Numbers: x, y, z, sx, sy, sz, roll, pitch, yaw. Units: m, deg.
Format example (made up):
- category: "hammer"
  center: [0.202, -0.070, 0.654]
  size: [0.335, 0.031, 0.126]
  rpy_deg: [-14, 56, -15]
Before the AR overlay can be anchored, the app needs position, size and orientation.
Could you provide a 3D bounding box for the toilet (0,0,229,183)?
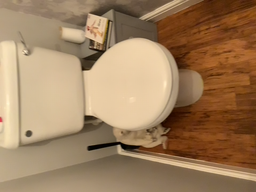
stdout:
- category: "toilet"
  center: [-0.090, -0.040, 0.940]
  size: [0.690, 0.780, 0.460]
  rpy_deg: [-7, 86, 48]
